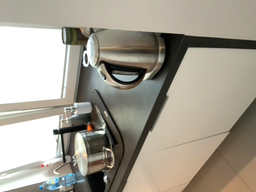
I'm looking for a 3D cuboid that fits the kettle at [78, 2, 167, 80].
[{"bbox_3d":[-0.030,-0.180,0.720,0.150,0.220,0.190,56,140,40],"label":"kettle"}]
